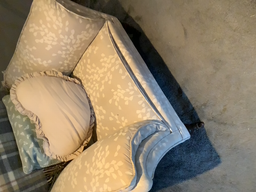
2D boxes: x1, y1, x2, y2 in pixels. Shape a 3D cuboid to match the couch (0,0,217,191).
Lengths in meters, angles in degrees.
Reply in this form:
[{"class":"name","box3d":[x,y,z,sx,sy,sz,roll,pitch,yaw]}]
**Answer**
[{"class":"couch","box3d":[-0.350,0.170,1.040,0.900,0.880,0.870,-43,66,35]}]
